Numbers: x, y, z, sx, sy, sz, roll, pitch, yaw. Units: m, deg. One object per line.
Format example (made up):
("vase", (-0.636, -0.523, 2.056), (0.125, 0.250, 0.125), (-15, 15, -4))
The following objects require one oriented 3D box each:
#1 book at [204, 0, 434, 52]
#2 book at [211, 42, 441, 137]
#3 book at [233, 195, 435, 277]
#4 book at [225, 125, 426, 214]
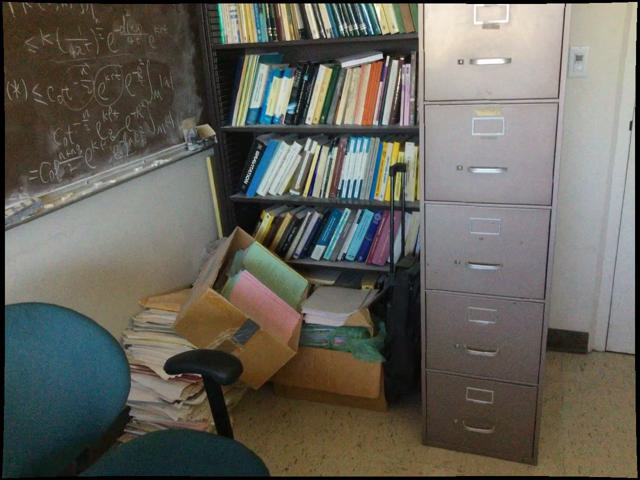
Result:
("book", (-0.010, -0.922, 2.250), (0.868, 0.321, 0.230), (4, 22, 18))
("book", (0.030, -0.612, 2.340), (0.868, 0.321, 0.280), (4, 22, 18))
("book", (0.060, -0.030, 2.540), (0.848, 0.241, 0.220), (4, 22, 18))
("book", (0.030, -0.321, 2.500), (0.808, 0.291, 0.290), (4, 22, 18))
